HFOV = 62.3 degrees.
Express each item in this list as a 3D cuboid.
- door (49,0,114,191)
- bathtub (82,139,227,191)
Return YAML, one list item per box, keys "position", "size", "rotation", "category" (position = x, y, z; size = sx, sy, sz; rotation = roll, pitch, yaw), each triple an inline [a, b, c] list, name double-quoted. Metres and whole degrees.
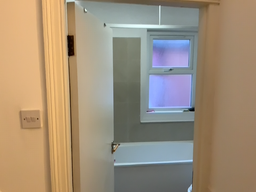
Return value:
- position: [-0.230, 0.540, 1.430]
  size: [0.070, 2.090, 0.840]
  rotation: [2, 8, 10]
  category: "door"
- position: [0.300, 0.980, 2.840]
  size: [1.740, 0.560, 0.690]
  rotation: [0, 7, -8]
  category: "bathtub"
